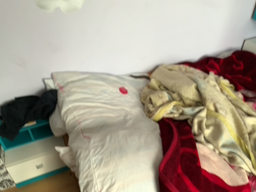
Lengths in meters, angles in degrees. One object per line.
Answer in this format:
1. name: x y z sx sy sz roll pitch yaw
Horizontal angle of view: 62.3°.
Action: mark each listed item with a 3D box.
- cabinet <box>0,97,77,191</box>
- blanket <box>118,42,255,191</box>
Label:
1. cabinet: -0.690 0.350 1.620 0.440 0.440 0.390 -16 41 -18
2. blanket: 0.590 0.040 1.590 0.980 0.300 1.140 -15 41 -17
